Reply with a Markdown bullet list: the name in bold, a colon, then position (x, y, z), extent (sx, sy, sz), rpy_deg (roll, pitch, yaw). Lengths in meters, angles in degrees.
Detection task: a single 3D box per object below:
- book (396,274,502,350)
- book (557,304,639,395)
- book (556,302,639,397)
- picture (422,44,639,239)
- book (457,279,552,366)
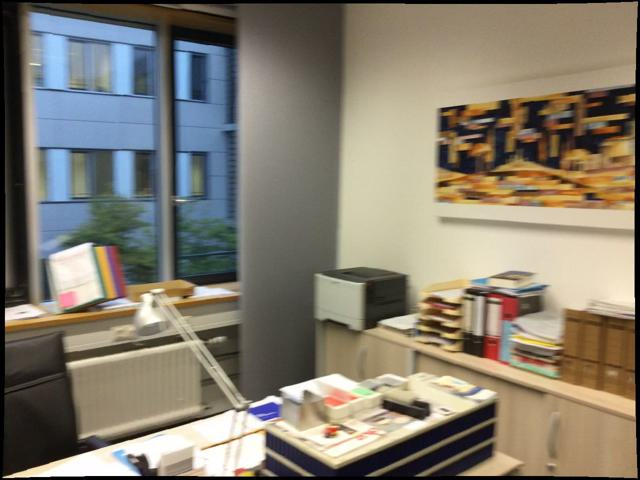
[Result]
- **book**: position (0.669, 0.360, 3.020), extent (0.390, 0.270, 0.370), rpy_deg (-5, 9, -37)
- **book**: position (1.229, 0.440, 2.210), extent (0.100, 0.280, 0.590), rpy_deg (-7, 10, -44)
- **book**: position (1.219, 0.440, 2.210), extent (0.100, 0.290, 0.590), rpy_deg (-6, 10, -42)
- **picture**: position (1.269, -0.420, 2.520), extent (0.110, 0.791, 2.079), rpy_deg (-5, 9, -37)
- **book**: position (0.879, 0.380, 2.770), extent (0.320, 0.310, 0.290), rpy_deg (-5, 9, -37)
